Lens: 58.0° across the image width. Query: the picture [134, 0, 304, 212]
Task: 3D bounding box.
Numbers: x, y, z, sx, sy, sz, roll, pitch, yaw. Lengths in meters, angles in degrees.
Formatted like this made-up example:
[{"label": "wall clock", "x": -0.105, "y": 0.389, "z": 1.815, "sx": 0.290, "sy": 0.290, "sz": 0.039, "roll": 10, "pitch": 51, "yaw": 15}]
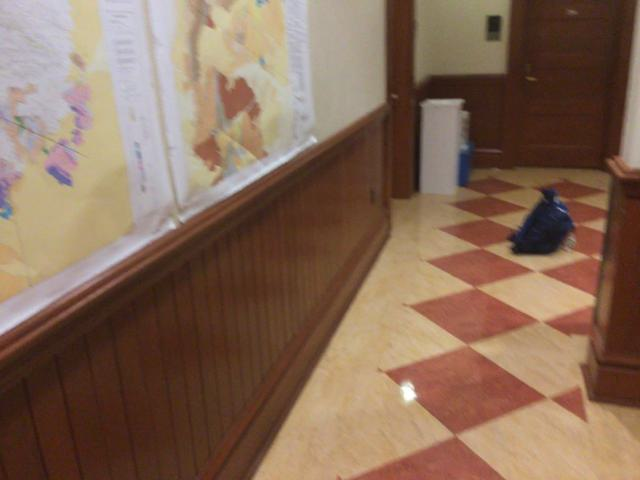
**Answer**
[{"label": "picture", "x": -0.240, "y": -0.580, "z": 1.760, "sx": 0.050, "sy": 0.760, "sz": 1.000, "roll": 5, "pitch": 19, "yaw": 17}]
